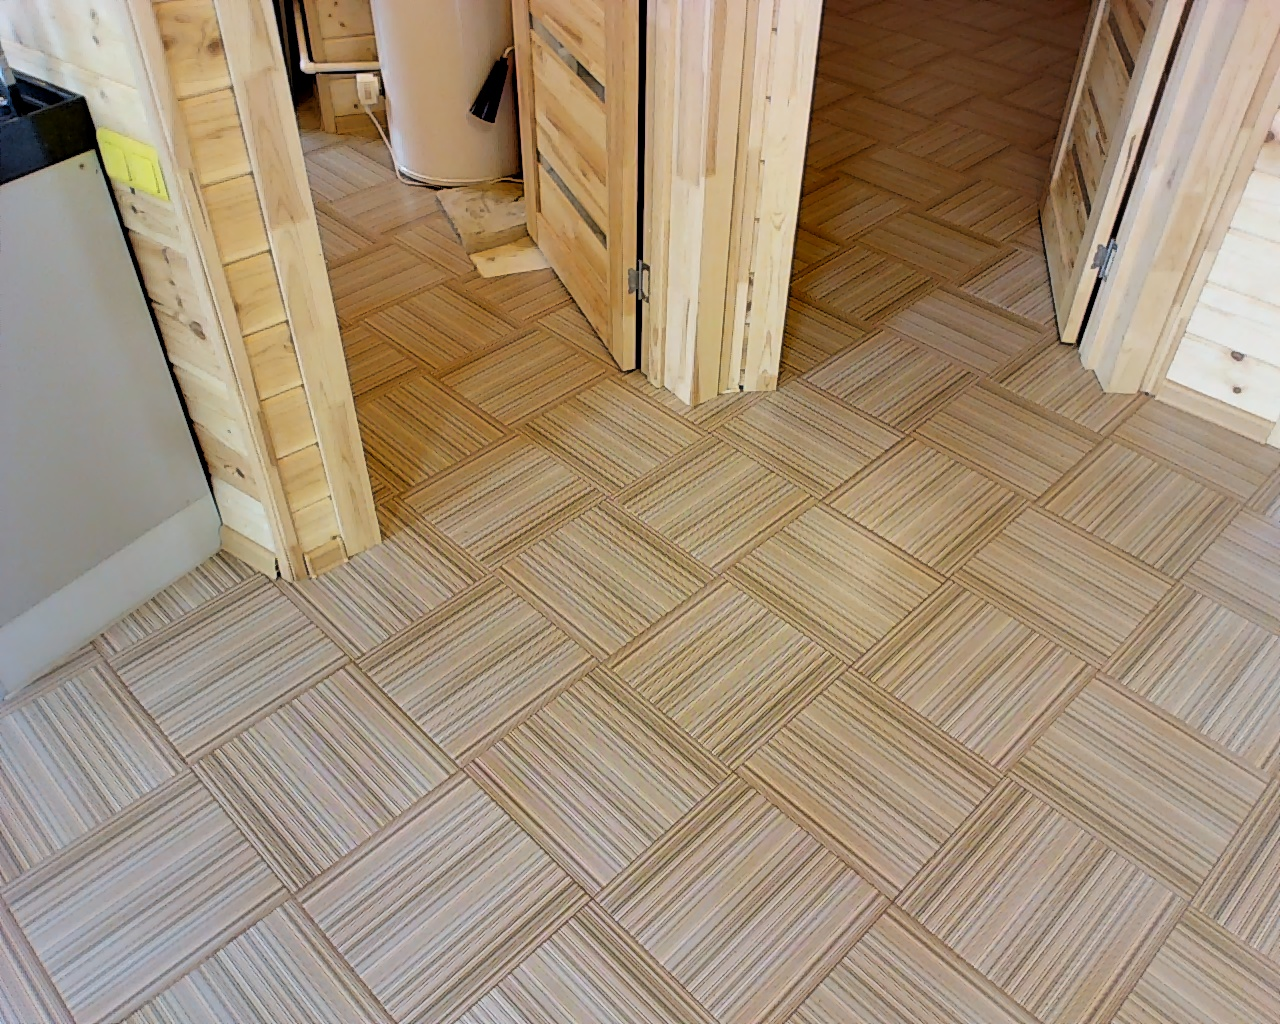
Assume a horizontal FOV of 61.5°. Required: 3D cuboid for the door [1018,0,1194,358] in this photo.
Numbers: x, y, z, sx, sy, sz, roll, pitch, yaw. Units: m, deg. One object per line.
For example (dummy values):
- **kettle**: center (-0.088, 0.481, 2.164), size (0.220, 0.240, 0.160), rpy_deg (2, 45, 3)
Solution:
- **door**: center (1.190, -1.450, 2.450), size (0.100, 2.070, 0.820), rpy_deg (8, 43, 8)
